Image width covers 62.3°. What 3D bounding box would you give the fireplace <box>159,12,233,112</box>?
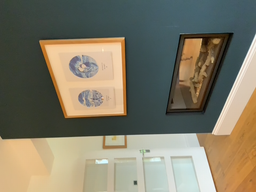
[{"bbox_3d":[0.590,-0.290,2.090,0.390,0.420,0.910,-93,2,-45],"label":"fireplace"}]
